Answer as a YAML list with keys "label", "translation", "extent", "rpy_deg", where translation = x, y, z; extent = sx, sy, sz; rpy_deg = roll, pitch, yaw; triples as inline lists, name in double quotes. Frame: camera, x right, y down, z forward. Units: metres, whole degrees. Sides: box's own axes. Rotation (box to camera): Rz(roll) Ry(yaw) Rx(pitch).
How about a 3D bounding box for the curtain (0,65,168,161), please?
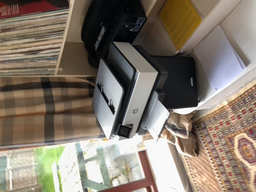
- label: "curtain"
  translation: [-0.800, 0.120, 1.400]
  extent: [0.380, 2.240, 0.510]
  rpy_deg: [-50, 50, 50]
